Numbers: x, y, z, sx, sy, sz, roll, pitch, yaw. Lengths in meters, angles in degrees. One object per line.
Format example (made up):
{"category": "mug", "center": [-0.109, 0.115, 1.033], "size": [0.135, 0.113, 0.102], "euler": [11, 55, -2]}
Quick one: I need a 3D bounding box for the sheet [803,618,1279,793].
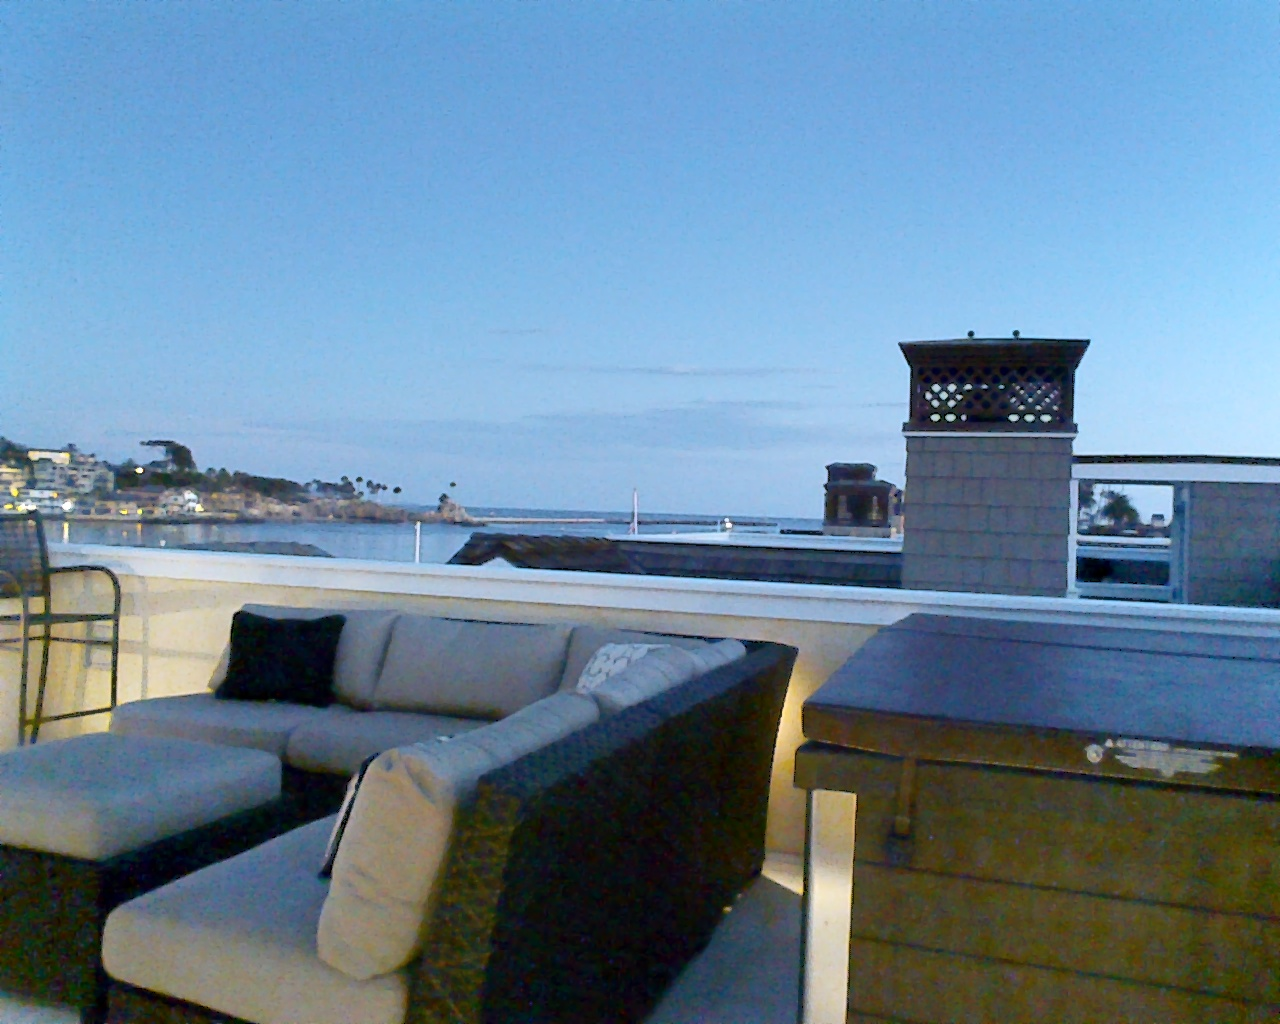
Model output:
{"category": "sheet", "center": [1.199, 0.360, 2.180], "size": [1.489, 0.120, 1.300], "euler": [0, 0, 20]}

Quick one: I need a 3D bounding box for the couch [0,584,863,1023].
{"category": "couch", "center": [-0.870, 0.790, 3.280], "size": [2.679, 0.930, 2.510], "euler": [0, 0, 21]}

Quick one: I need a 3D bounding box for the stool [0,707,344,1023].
{"category": "stool", "center": [-1.529, 0.970, 3.080], "size": [0.980, 0.610, 0.870], "euler": [0, 0, 21]}
